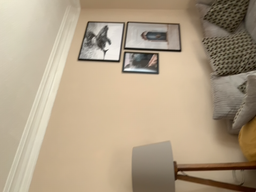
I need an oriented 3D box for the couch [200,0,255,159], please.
[{"bbox_3d":[1.230,-0.120,1.730,1.130,0.850,0.960,89,-176,-58],"label":"couch"}]
